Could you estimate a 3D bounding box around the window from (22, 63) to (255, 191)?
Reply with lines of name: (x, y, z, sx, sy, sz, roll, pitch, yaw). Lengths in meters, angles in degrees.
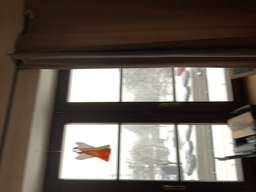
window: (0.110, 0.440, 1.470, 0.210, 1.530, 1.420, 84, -172, -67)
